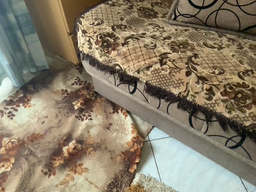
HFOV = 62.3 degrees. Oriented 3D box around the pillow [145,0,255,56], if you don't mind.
[{"bbox_3d":[0.420,-0.410,0.930,0.600,0.340,0.180,22,26,18],"label":"pillow"}]
